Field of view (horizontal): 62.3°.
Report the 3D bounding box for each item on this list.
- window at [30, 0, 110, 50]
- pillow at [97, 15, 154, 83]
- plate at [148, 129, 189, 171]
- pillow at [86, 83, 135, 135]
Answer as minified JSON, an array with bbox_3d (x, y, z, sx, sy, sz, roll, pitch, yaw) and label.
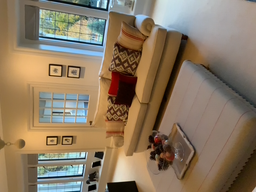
[{"bbox_3d":[-1.070,-2.070,4.090,0.090,1.480,2.250,-117,35,-55],"label":"window"},{"bbox_3d":[-0.020,-0.680,3.140,0.790,0.530,0.290,64,175,-37],"label":"pillow"},{"bbox_3d":[0.410,0.560,2.240,0.330,0.250,0.260,-117,35,-55],"label":"plate"},{"bbox_3d":[-0.300,0.250,3.790,0.780,0.570,0.180,62,176,-35],"label":"pillow"}]
